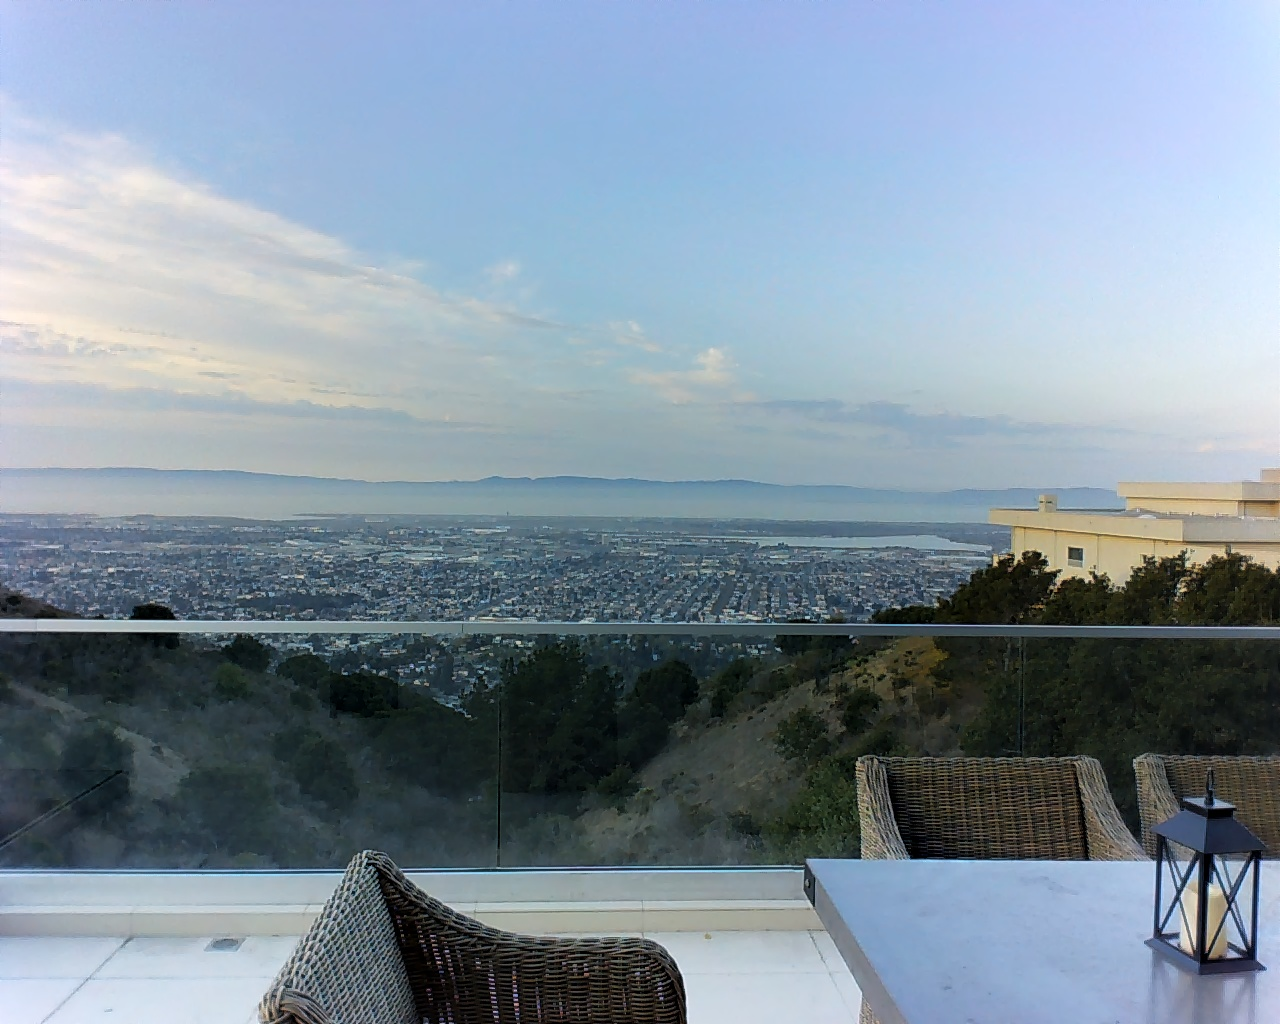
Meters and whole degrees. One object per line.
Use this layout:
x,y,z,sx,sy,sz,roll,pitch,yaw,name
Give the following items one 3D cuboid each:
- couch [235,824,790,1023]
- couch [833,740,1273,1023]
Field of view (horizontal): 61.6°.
-0.200,1.080,1.870,0.770,0.850,0.730,1,1,-3,couch
0.970,1.070,2.720,0.770,0.810,0.780,1,1,-3,couch
